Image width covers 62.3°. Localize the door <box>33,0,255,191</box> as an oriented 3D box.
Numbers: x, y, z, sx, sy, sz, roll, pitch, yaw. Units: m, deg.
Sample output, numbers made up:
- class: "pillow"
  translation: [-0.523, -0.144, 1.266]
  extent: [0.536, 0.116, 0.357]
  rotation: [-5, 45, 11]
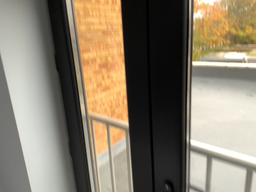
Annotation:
- class: "door"
  translation: [0.080, 0.330, 0.810]
  extent: [1.130, 2.000, 0.070]
  rotation: [11, 22, 39]
